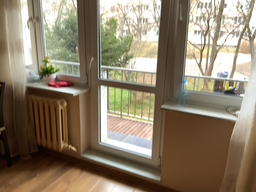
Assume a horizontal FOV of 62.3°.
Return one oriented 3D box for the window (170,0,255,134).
[{"bbox_3d":[0.760,-0.540,1.690,0.660,1.580,0.240,10,19,27],"label":"window"}]
